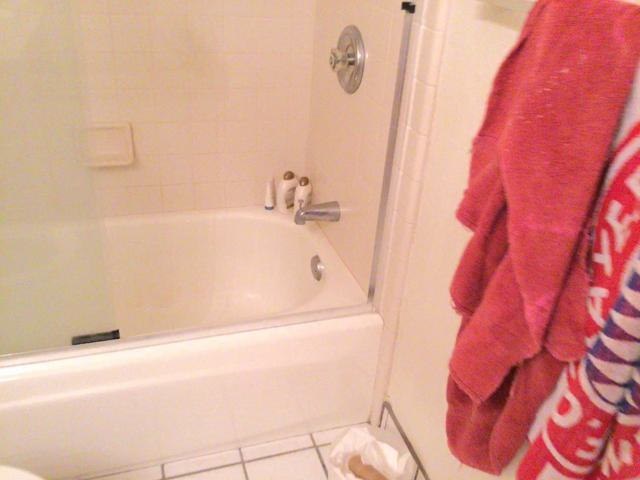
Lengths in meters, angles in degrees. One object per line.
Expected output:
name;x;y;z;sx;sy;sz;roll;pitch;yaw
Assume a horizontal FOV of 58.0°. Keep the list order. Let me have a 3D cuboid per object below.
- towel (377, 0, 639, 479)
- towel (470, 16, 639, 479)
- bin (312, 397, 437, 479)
towel;0.270;0.070;0.910;0.190;0.880;0.310;-6;27;-17
towel;0.380;0.120;0.690;0.170;0.700;0.290;-6;27;-17
bin;0.120;0.580;1.410;0.210;0.250;0.240;-6;27;-17
